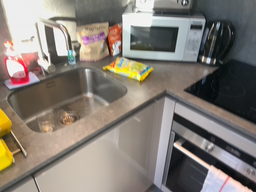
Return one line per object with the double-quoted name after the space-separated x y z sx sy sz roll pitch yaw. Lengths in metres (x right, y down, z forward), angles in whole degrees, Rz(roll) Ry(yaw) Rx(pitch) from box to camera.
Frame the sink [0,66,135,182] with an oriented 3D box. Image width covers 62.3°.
-0.280 0.080 1.020 0.490 0.180 0.390 -28 44 -35 "sink"
